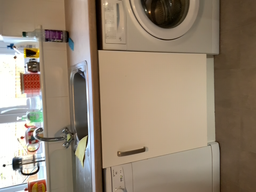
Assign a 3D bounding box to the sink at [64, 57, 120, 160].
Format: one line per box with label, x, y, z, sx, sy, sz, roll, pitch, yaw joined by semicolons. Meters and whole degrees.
sink;-0.250;0.050;1.340;0.540;0.170;0.520;5;98;63
